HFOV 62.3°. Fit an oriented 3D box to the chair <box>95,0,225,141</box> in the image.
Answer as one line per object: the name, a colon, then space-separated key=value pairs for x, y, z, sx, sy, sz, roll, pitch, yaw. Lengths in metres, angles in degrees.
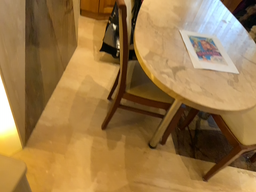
chair: x=0.110 y=-0.160 z=1.410 sx=0.510 sy=0.950 sz=0.390 roll=11 pitch=46 yaw=-5

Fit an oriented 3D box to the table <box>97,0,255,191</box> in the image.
table: x=0.340 y=-0.540 z=1.870 sx=0.660 sy=0.870 sz=2.390 roll=12 pitch=46 yaw=-4
